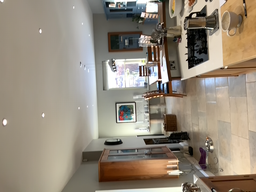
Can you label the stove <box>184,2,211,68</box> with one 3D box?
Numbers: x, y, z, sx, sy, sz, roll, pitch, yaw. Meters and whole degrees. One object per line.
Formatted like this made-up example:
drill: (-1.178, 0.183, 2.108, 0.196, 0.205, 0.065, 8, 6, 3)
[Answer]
stove: (0.710, -0.590, 2.220, 0.650, 0.030, 0.490, 162, 105, -88)
